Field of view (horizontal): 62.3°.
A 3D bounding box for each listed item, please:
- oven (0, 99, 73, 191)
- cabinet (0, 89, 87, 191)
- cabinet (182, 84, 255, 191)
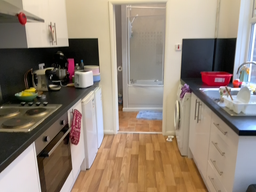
[{"bbox_3d":[-0.870,0.450,1.700,0.630,0.700,0.610,1,14,3],"label":"oven"},{"bbox_3d":[-0.830,0.440,2.230,0.650,0.950,0.430,1,14,3],"label":"cabinet"},{"bbox_3d":[1.000,0.480,2.010,0.650,0.940,1.290,0,14,2],"label":"cabinet"}]
